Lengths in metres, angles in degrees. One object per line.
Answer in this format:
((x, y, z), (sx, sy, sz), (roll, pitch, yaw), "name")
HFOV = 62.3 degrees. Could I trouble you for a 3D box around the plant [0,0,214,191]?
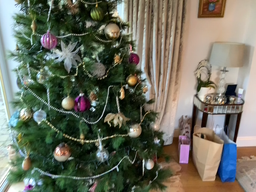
((-0.360, -0.200, 1.630), (1.330, 2.240, 1.310), (-3, 21, -7), "plant")
